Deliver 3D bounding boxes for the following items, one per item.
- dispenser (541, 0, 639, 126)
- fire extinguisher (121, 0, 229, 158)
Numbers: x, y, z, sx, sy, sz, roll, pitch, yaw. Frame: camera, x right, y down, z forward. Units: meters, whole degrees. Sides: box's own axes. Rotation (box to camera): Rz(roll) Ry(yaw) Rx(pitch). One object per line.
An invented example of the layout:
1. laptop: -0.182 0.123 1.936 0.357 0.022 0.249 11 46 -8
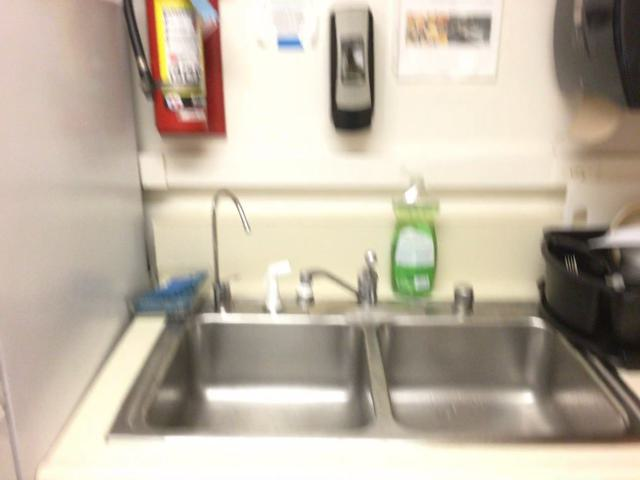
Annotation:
1. dispenser: 0.600 -0.430 1.070 0.190 0.380 0.370 1 20 -1
2. fire extinguisher: -0.290 -0.440 1.170 0.170 0.520 0.150 1 20 -1
